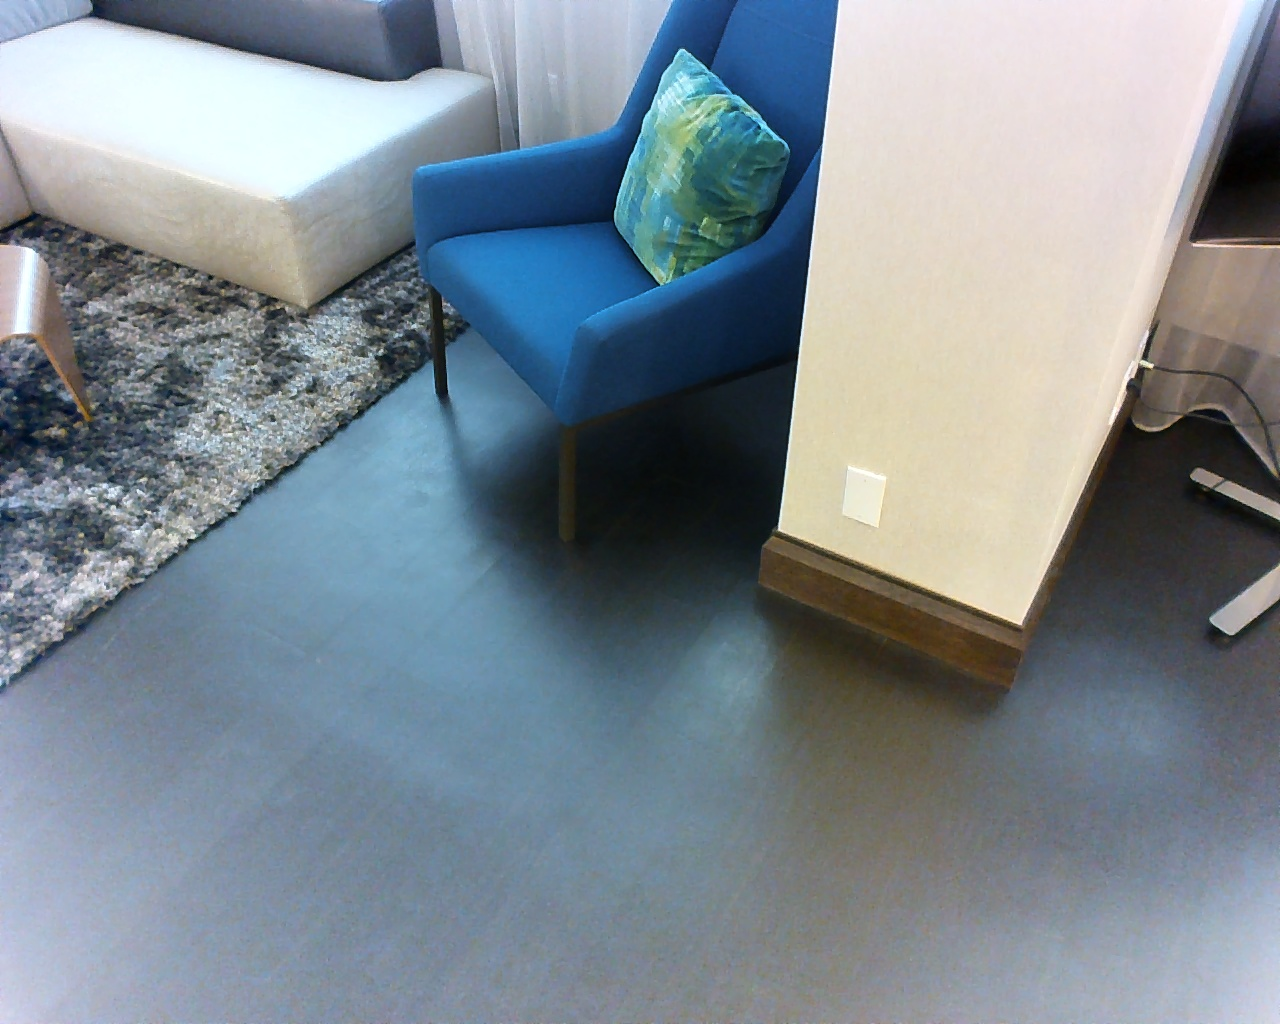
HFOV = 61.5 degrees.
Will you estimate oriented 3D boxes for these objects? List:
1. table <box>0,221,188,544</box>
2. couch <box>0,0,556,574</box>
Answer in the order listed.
[{"bbox_3d":[-1.580,-0.250,2.340,0.690,0.380,0.780,28,49,28],"label":"table"},{"bbox_3d":[-1.870,-0.820,2.730,2.000,0.720,2.870,22,46,23],"label":"couch"}]
